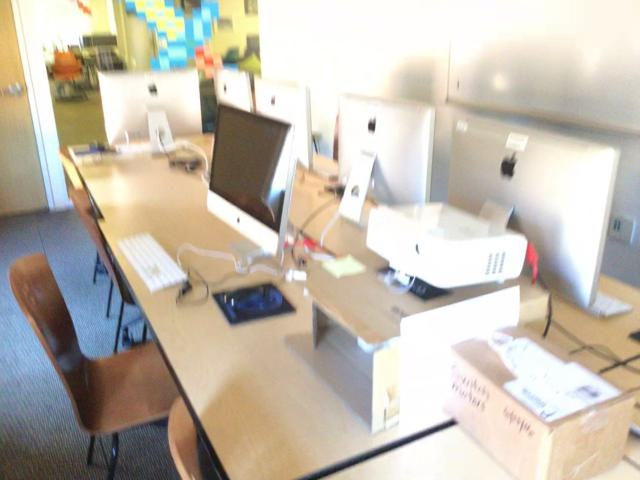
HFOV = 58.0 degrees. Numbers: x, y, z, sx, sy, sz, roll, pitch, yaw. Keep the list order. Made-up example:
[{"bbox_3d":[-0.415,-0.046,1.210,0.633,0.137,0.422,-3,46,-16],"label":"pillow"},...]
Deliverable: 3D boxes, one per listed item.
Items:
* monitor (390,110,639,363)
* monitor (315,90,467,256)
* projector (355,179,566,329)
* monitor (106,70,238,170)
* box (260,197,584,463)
[{"bbox_3d":[0.430,-0.050,1.430,0.250,0.440,0.530,-12,25,-24],"label":"monitor"},{"bbox_3d":[0.210,-0.250,1.920,0.230,0.410,0.520,-12,25,-24],"label":"monitor"},{"bbox_3d":[0.290,0.010,1.260,0.320,0.170,0.300,-12,25,-24],"label":"projector"},{"bbox_3d":[-0.760,-0.640,3.030,0.600,0.430,0.180,-12,25,-24],"label":"monitor"},{"bbox_3d":[0.190,0.140,1.240,0.490,0.280,0.440,-12,25,-24],"label":"box"}]
